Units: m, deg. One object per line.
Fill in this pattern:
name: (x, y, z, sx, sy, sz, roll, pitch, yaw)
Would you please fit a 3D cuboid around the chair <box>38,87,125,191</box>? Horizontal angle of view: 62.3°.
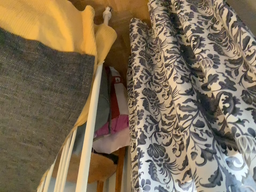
chair: (-0.280, 0.390, 1.330, 0.390, 0.760, 0.370, 20, 132, -21)
